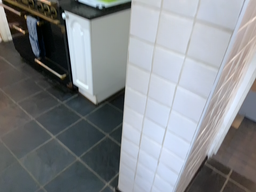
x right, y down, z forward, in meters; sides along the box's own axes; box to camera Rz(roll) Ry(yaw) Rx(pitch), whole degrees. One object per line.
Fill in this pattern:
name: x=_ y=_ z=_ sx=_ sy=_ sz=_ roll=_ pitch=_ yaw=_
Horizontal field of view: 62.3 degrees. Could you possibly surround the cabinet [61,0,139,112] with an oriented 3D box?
cabinet: x=-0.240 y=-0.400 z=2.030 sx=0.320 sy=0.910 sz=0.590 roll=29 pitch=45 yaw=27
